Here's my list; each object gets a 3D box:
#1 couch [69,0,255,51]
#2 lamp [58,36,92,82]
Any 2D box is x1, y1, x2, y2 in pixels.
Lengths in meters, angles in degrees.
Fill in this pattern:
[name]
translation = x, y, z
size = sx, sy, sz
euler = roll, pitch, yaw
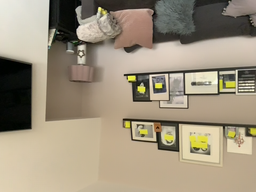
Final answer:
[couch]
translation = 0.870, -1.170, 2.470
size = 3.100, 0.790, 0.980
euler = 0, 178, 26
[lamp]
translation = -0.790, -0.540, 3.210
size = 0.360, 0.600, 0.330
euler = 0, 178, 26
